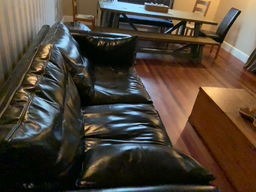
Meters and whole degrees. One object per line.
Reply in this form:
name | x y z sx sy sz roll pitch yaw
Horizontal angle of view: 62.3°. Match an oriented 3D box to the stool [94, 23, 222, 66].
stool | 0.580 -0.990 4.150 2.410 0.450 0.470 3 32 -13
